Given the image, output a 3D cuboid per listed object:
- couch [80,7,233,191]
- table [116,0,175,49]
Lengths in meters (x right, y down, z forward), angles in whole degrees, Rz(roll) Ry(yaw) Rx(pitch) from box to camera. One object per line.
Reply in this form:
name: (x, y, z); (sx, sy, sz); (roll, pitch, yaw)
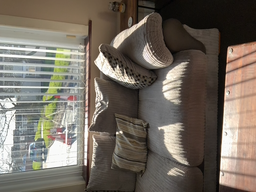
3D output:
couch: (0.100, 0.900, 2.030); (1.250, 0.850, 2.890); (-173, 83, -66)
table: (0.180, -0.770, 2.300); (0.400, 0.500, 0.400); (-179, 89, -66)
